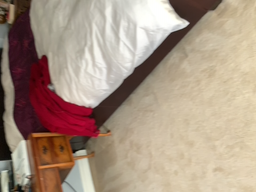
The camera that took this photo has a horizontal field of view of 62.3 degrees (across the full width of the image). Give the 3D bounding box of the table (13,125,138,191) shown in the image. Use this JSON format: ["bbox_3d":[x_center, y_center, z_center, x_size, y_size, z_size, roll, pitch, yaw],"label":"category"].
[{"bbox_3d":[-0.420,0.930,1.760,0.700,0.740,1.160,-56,47,33],"label":"table"}]
